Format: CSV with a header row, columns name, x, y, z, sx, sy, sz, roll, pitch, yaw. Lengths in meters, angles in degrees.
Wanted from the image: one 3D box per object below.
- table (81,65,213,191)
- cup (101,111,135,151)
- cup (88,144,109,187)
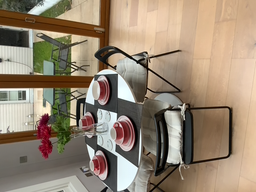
name,x,y,z,sx,sy,sz,roll,pitch,yaw
table,0.100,0.270,2.080,1.010,0.750,1.070,15,104,54
cup,-0.080,0.250,1.580,0.250,0.130,0.230,11,101,55
cup,-0.270,0.620,1.910,0.220,0.090,0.300,8,98,55
